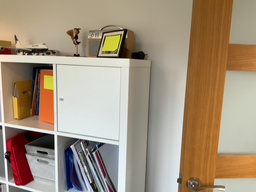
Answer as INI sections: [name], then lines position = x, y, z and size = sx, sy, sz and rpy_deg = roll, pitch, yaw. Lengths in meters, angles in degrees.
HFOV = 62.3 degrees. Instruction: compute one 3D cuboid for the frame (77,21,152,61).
[frame]
position = -0.060, -0.280, 1.130
size = 0.290, 0.170, 0.310
rpy_deg = 6, 10, 21
